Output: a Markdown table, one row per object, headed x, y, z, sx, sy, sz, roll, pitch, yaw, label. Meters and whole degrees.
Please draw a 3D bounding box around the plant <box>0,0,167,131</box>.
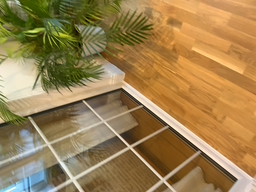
| x | y | z | sx | sy | sz | roll | pitch | yaw | label |
| --- | --- | --- | --- | --- | --- | --- | --- | --- | --- |
| -0.640 | -0.610 | 1.550 | 1.310 | 1.090 | 0.760 | 40 | 131 | 31 | plant |
